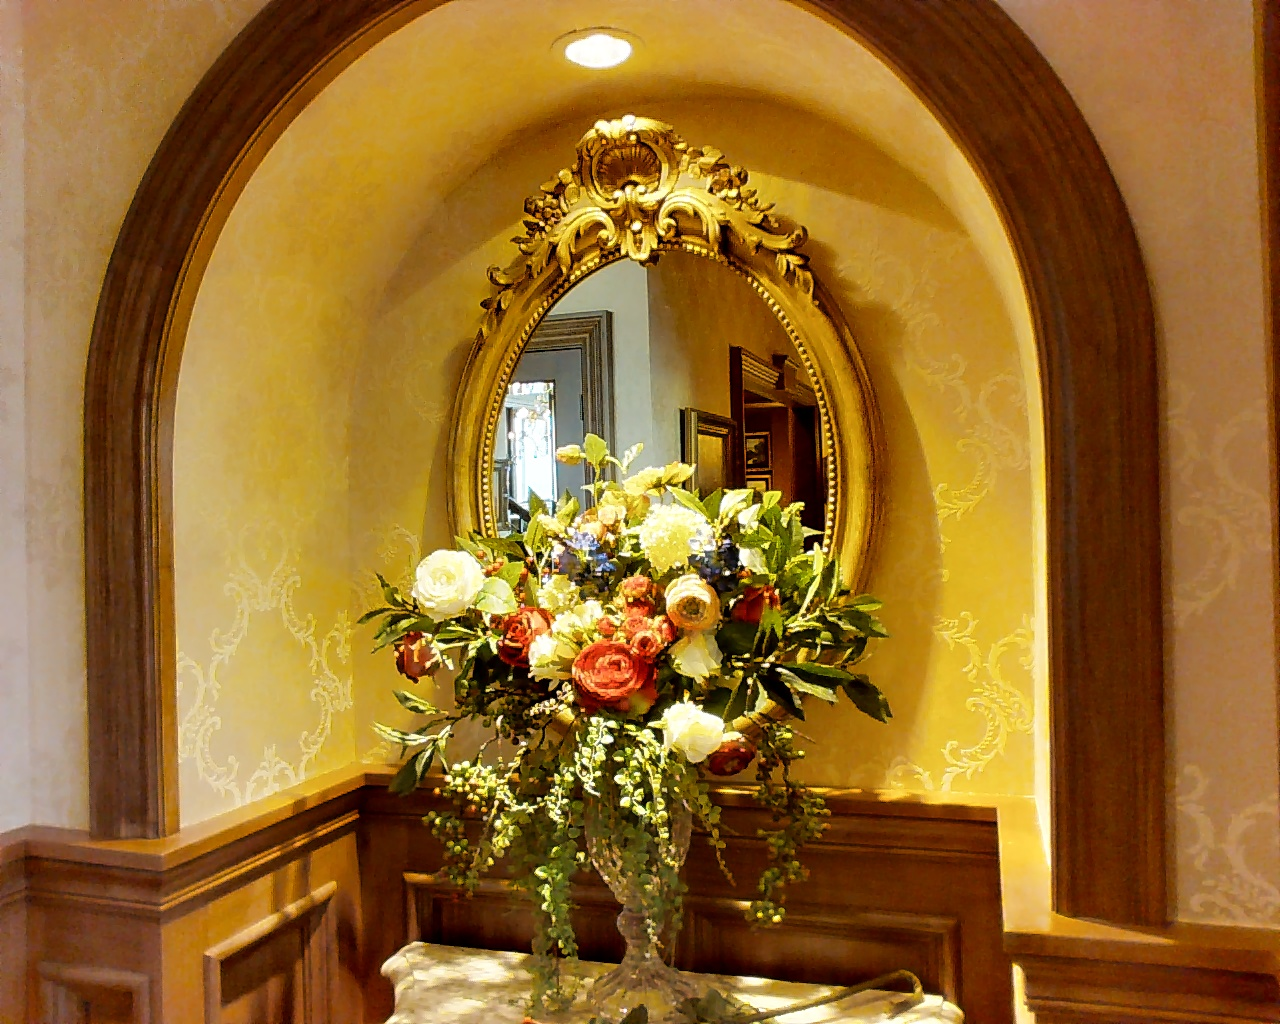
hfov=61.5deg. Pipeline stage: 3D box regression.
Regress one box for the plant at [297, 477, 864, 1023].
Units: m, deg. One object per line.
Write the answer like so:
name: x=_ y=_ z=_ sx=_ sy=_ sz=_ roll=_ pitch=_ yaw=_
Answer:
plant: x=-0.080 y=0.290 z=1.180 sx=0.620 sy=0.630 sz=0.090 roll=-2 pitch=-1 yaw=18
